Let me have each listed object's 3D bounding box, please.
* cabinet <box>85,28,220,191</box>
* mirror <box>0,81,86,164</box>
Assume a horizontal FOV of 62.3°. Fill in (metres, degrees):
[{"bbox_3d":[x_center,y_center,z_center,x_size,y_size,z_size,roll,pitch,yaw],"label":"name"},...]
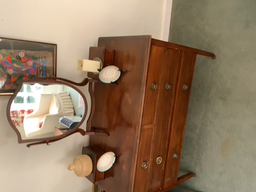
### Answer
[{"bbox_3d":[0.180,0.110,1.620,0.560,0.770,1.040,14,102,47],"label":"cabinet"},{"bbox_3d":[-0.560,0.140,1.400,0.190,0.510,0.450,12,101,47],"label":"mirror"}]
